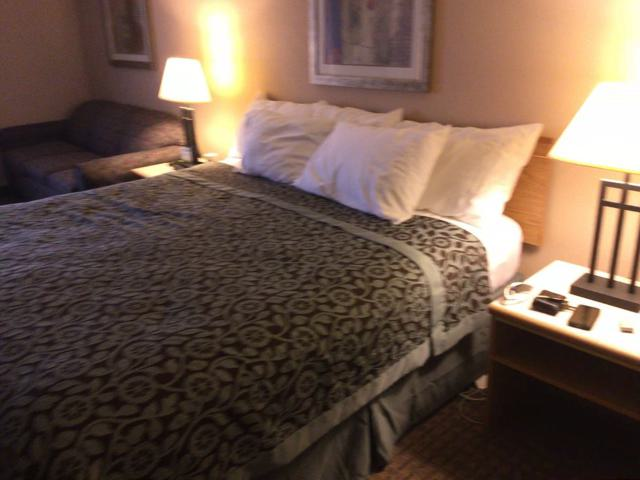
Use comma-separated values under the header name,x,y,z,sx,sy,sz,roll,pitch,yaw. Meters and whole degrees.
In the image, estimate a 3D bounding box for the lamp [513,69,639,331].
name,x,y,z,sx,sy,sz,roll,pitch,yaw
lamp,0.920,-0.140,1.770,0.280,0.690,0.460,-18,28,-38

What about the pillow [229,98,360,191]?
name,x,y,z,sx,sy,sz,roll,pitch,yaw
pillow,-0.140,-0.500,2.910,0.340,0.320,0.610,-17,28,-37

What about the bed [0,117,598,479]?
name,x,y,z,sx,sy,sz,roll,pitch,yaw
bed,-0.470,0.180,2.380,2.140,0.850,2.120,-18,28,-38

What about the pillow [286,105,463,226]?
name,x,y,z,sx,sy,sz,roll,pitch,yaw
pillow,0.210,-0.350,2.490,0.380,0.340,0.660,-18,28,-38

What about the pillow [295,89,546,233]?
name,x,y,z,sx,sy,sz,roll,pitch,yaw
pillow,0.370,-0.400,2.550,0.330,0.380,1.100,-18,28,-38
